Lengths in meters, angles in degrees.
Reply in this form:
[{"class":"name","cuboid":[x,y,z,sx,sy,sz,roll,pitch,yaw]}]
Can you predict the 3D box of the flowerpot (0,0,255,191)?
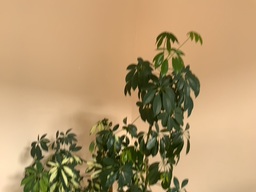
[{"class":"flowerpot","cuboid":[0.080,0.650,1.420,1.520,2.160,1.300,3,-5,5]}]
